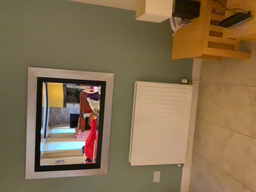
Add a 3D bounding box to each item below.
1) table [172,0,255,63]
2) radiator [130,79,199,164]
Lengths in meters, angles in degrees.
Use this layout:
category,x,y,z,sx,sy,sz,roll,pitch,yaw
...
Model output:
category,x,y,z,sx,sy,sz,roll,pitch,yaw
table,0.840,-0.610,2.070,0.540,0.550,0.520,-154,68,-72
radiator,0.440,0.310,2.520,0.120,0.750,0.960,-162,77,-72
